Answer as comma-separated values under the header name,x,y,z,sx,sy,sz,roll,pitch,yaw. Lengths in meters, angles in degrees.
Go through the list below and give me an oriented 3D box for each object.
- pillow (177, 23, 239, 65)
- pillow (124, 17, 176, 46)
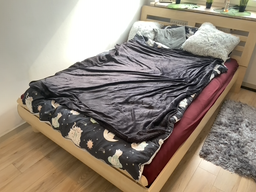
name,x,y,z,sx,sy,sz,roll,pitch,yaw
pillow,0.950,-0.640,2.530,0.520,0.260,0.490,22,40,29
pillow,0.300,-0.890,2.890,0.530,0.180,0.490,21,39,28
